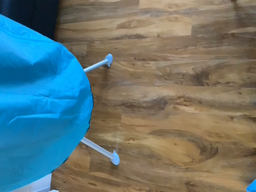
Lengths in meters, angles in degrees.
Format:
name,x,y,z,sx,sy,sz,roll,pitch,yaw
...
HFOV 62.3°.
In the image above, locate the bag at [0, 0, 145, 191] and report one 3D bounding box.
name,x,y,z,sx,sy,sz,roll,pitch,yaw
bag,-0.510,-0.010,0.660,0.570,1.500,0.700,-15,78,19
